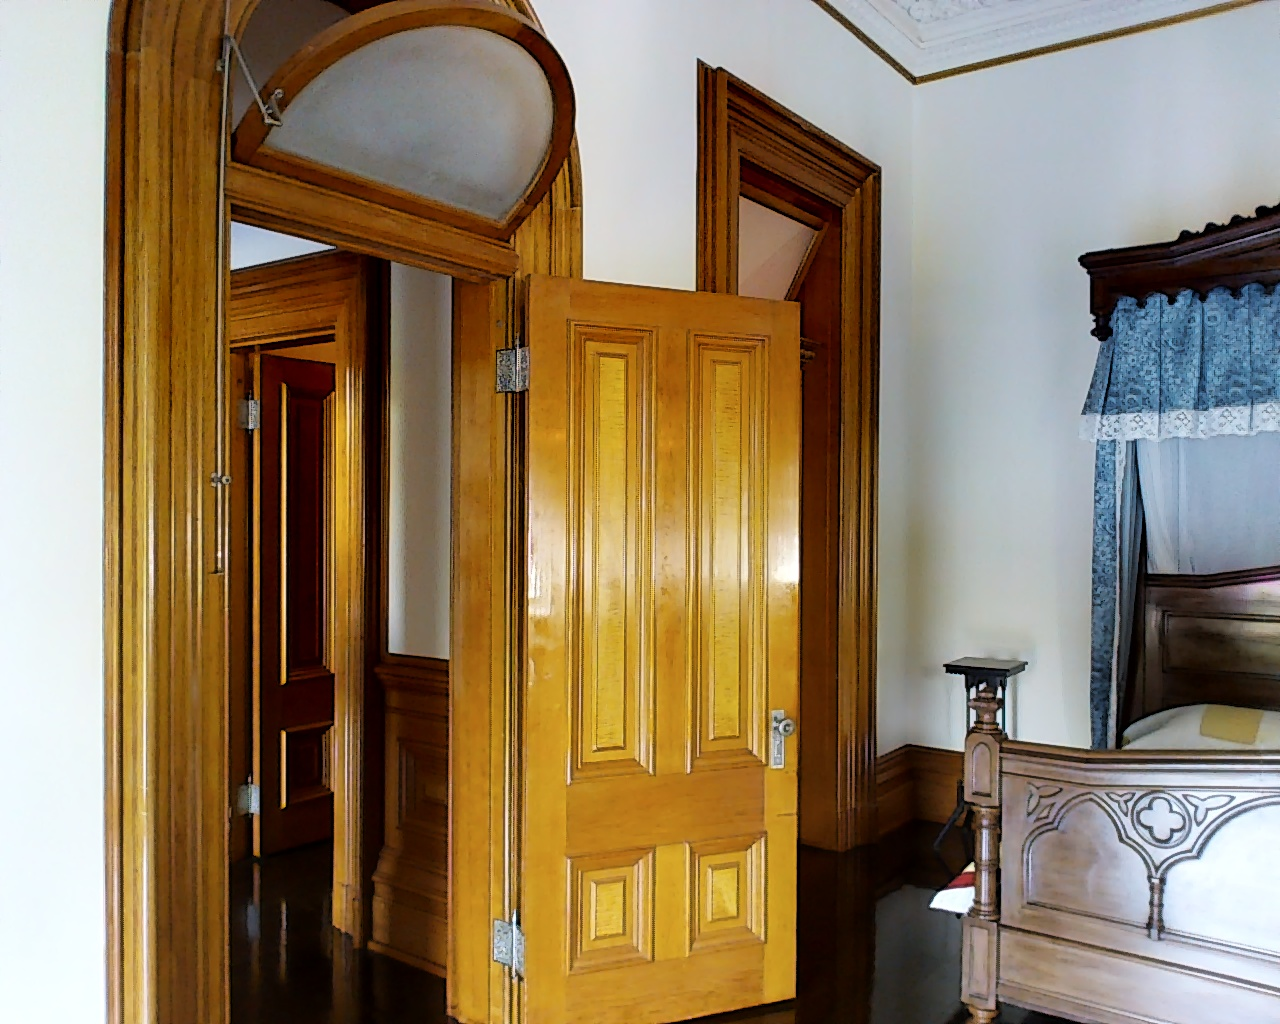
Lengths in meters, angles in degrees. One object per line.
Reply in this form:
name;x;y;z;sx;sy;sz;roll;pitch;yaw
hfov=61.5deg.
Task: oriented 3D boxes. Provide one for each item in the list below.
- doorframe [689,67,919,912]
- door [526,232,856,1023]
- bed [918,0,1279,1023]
doorframe;0.760;-0.080;4.660;0.280;3.160;1.410;1;0;39
door;0.180;0.360;3.280;1.040;2.290;0.100;1;0;-23
bed;2.330;0.040;3.630;1.920;2.970;2.280;1;0;38
